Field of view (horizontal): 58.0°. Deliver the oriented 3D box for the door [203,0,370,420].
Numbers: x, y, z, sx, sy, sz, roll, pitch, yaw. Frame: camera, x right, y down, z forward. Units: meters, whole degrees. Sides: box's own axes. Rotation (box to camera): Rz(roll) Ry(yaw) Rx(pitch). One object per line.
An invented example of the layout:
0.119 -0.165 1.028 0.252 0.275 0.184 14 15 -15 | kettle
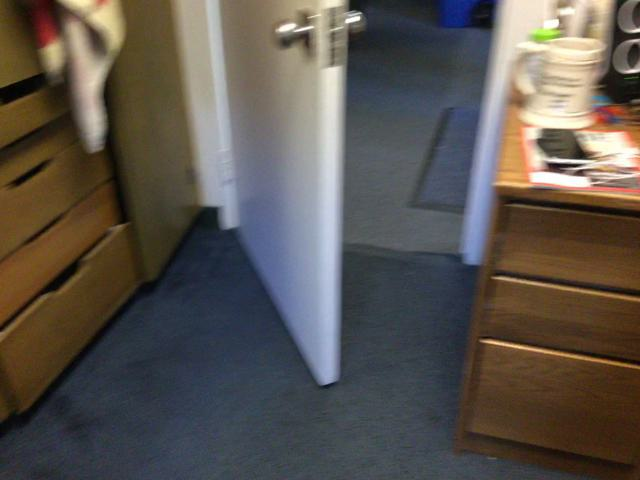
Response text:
-0.140 -0.670 1.340 0.110 2.120 0.950 -13 34 -17 | door
